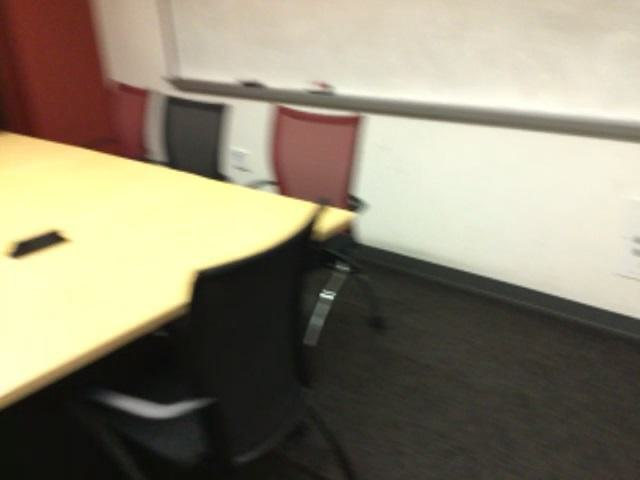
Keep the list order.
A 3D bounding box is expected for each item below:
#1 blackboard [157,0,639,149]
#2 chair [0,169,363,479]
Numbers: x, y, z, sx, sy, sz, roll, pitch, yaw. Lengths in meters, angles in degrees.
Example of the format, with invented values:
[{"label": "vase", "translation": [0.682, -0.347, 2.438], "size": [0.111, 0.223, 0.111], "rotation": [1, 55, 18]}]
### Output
[{"label": "blackboard", "translation": [0.510, -0.870, 2.440], "size": [3.660, 0.720, 0.260], "rotation": [16, 28, 38]}, {"label": "chair", "translation": [-0.280, 0.300, 1.420], "size": [0.540, 0.770, 0.580], "rotation": [13, 26, 33]}]
